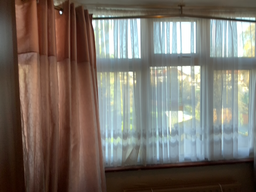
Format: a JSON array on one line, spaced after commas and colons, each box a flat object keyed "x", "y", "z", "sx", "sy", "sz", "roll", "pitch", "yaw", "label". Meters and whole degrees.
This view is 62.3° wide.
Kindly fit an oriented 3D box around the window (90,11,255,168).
[{"x": 0.460, "y": -0.060, "z": 1.890, "sx": 1.530, "sy": 1.310, "sz": 0.060, "roll": -2, "pitch": 5, "yaw": -7, "label": "window"}]
